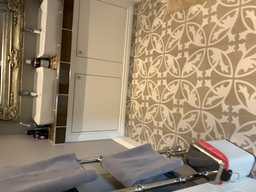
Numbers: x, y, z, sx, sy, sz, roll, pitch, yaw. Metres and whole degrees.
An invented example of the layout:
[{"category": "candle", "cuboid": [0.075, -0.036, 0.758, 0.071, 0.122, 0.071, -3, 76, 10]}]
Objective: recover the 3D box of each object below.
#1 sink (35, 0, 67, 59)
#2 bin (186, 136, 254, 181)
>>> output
[{"category": "sink", "cuboid": [-0.770, -0.680, 2.090, 0.430, 0.170, 0.580, 9, 94, 57]}, {"category": "bin", "cuboid": [0.520, 0.340, 1.210, 0.230, 0.280, 0.160, 3, 90, 57]}]
